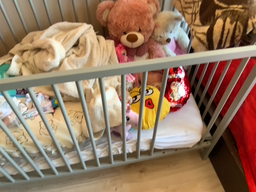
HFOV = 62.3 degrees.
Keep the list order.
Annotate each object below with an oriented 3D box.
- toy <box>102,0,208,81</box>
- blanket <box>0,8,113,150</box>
[{"bbox_3d":[0.100,-0.350,1.120,0.430,0.400,0.290,-8,50,-7],"label":"toy"},{"bbox_3d":[-0.400,-0.110,0.960,0.570,0.250,0.590,-8,50,-8],"label":"blanket"}]
